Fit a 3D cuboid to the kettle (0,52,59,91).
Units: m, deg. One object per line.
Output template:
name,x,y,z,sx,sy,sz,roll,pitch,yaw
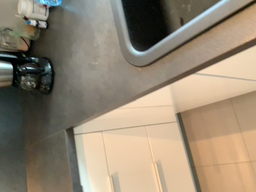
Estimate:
kettle,-0.450,-0.100,0.910,0.080,0.270,0.130,-27,70,45
